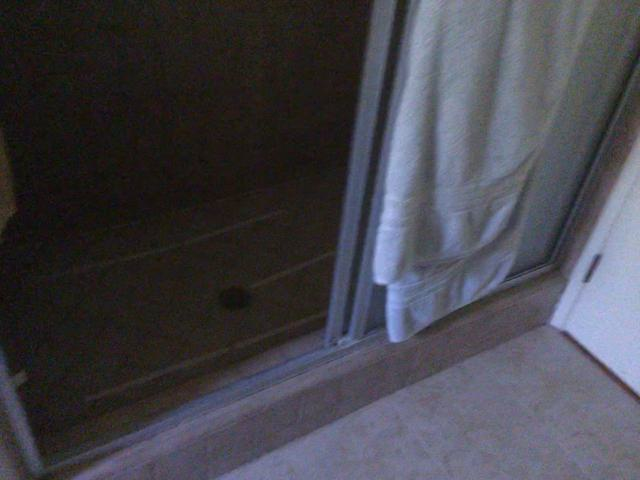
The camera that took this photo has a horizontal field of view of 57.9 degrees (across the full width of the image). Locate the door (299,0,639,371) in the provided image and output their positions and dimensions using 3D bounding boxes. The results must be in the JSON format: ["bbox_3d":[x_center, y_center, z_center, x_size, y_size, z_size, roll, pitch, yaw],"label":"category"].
[{"bbox_3d":[0.350,-0.230,1.170,0.740,0.970,0.150,-18,46,-27],"label":"door"}]

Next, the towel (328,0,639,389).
[{"bbox_3d":[0.320,-0.130,1.130,0.520,0.880,0.150,-18,46,-27],"label":"towel"}]
